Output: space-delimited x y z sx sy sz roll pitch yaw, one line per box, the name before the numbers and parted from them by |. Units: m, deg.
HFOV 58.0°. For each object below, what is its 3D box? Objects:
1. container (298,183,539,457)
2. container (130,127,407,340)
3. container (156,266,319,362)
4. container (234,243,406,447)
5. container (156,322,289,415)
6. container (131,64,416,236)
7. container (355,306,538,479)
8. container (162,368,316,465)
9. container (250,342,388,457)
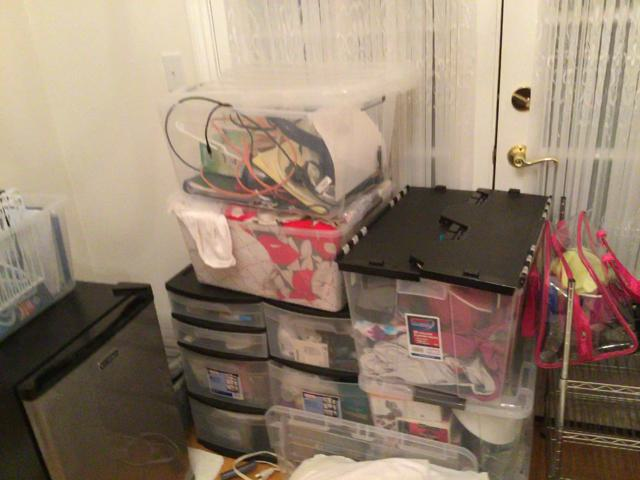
container | 0.290 0.140 1.460 0.470 0.420 0.580 3 22 20
container | -0.110 -0.050 1.640 0.620 0.450 0.410 3 22 20
container | -0.240 0.210 1.700 0.440 0.200 0.140 3 22 20
container | 0.030 0.260 1.620 0.320 0.350 0.450 3 22 20
container | -0.300 0.390 1.780 0.380 0.220 0.090 3 22 20
container | -0.080 -0.260 1.530 0.570 0.320 0.490 3 22 20
container | 0.350 0.430 1.520 0.400 0.330 0.400 3 22 20
container | -0.260 0.560 1.860 0.470 0.210 0.110 3 22 20
container | 0.000 0.450 1.650 0.360 0.260 0.100 3 22 20
